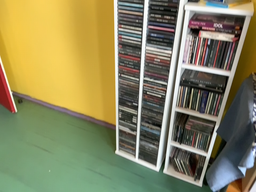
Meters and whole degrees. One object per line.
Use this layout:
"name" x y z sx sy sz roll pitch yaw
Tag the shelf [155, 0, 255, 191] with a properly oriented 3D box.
"shelf" 0.370 0.050 1.130 0.280 1.020 0.230 16 36 20
